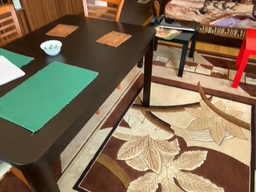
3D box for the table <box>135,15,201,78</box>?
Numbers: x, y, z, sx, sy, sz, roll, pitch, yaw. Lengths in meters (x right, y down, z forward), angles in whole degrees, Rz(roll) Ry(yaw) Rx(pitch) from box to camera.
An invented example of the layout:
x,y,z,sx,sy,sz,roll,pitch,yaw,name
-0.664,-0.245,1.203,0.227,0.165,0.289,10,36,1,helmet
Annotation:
x,y,z,sx,sy,sz,roll,pitch,yaw,name
0.470,-0.620,2.540,0.580,0.440,0.580,17,43,21,table
